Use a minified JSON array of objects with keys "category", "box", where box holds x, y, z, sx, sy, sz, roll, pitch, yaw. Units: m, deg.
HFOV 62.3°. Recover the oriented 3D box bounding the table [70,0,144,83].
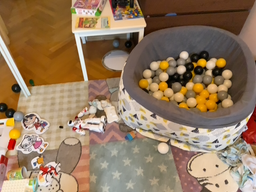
[{"category":"table","box":[-0.180,-0.520,1.810,0.500,0.490,0.610,-5,51,-6]}]
